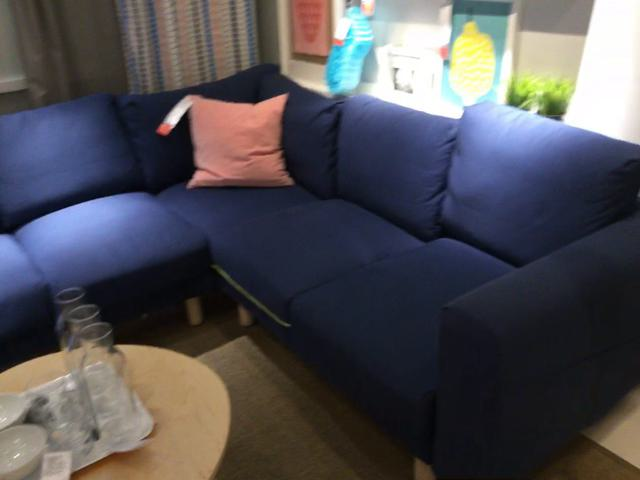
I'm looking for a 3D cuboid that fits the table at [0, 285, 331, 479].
[{"bbox_3d":[-0.470,0.570,1.360,0.690,0.530,0.740,-16,27,-32],"label":"table"}]

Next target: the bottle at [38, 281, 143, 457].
[{"bbox_3d":[-0.490,0.270,1.240,0.120,0.300,0.180,-16,27,-32],"label":"bottle"}]

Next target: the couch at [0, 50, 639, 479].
[{"bbox_3d":[-0.690,0.140,1.670,2.910,1.030,2.210,-17,27,-33],"label":"couch"}]
